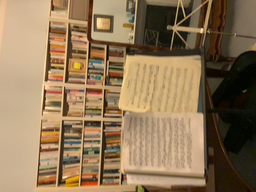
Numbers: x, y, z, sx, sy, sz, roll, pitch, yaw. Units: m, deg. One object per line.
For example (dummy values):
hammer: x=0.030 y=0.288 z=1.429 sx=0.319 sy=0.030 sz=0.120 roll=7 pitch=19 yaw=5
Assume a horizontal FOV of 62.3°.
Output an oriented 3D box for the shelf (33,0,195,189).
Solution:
shelf: x=-0.080 y=-0.080 z=2.900 sx=0.320 sy=2.020 sz=2.420 roll=156 pitch=116 yaw=-75
